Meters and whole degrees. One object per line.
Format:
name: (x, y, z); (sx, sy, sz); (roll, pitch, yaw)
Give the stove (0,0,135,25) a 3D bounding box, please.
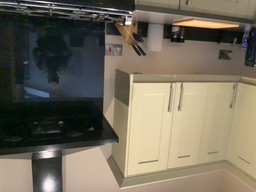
stove: (-0.470, -0.560, 1.230); (0.870, 0.160, 0.610); (-1, -166, -19)
